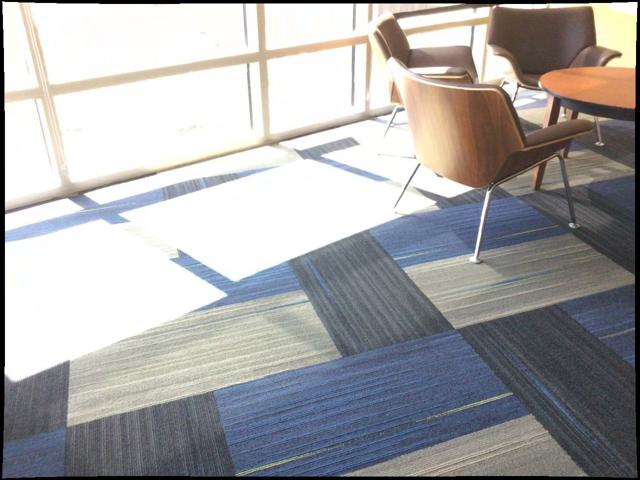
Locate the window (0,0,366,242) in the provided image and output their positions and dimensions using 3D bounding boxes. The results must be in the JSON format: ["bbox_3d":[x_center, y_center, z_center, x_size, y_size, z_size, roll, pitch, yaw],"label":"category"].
[{"bbox_3d":[-1.356,-0.862,3.130,4.035,1.343,0.450,-24,37,-33],"label":"window"}]
